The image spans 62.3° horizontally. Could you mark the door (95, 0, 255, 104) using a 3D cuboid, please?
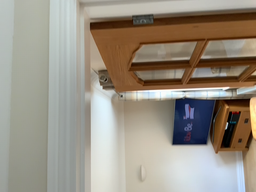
[{"bbox_3d":[0.910,-0.170,1.050,0.800,1.990,0.170,75,-167,-74],"label":"door"}]
